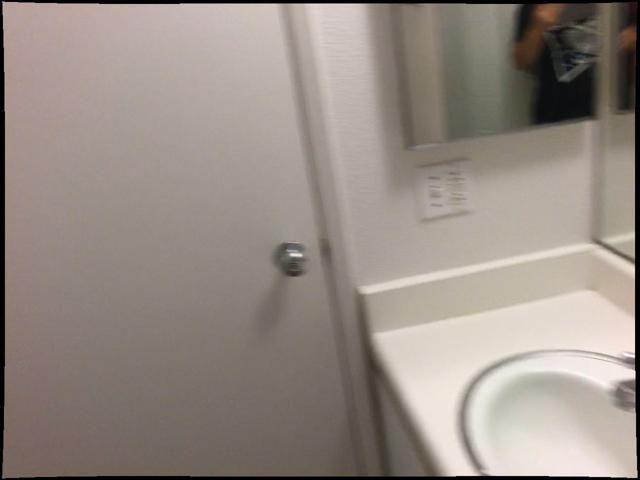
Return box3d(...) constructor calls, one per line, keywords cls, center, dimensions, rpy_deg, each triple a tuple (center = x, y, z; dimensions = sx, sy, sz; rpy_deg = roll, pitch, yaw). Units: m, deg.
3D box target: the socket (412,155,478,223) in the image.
box3d(cls="socket", center=(0.269, -0.110, 1.240), dimensions=(0.130, 0.120, 0.020), rpy_deg=(-13, 20, -6))
